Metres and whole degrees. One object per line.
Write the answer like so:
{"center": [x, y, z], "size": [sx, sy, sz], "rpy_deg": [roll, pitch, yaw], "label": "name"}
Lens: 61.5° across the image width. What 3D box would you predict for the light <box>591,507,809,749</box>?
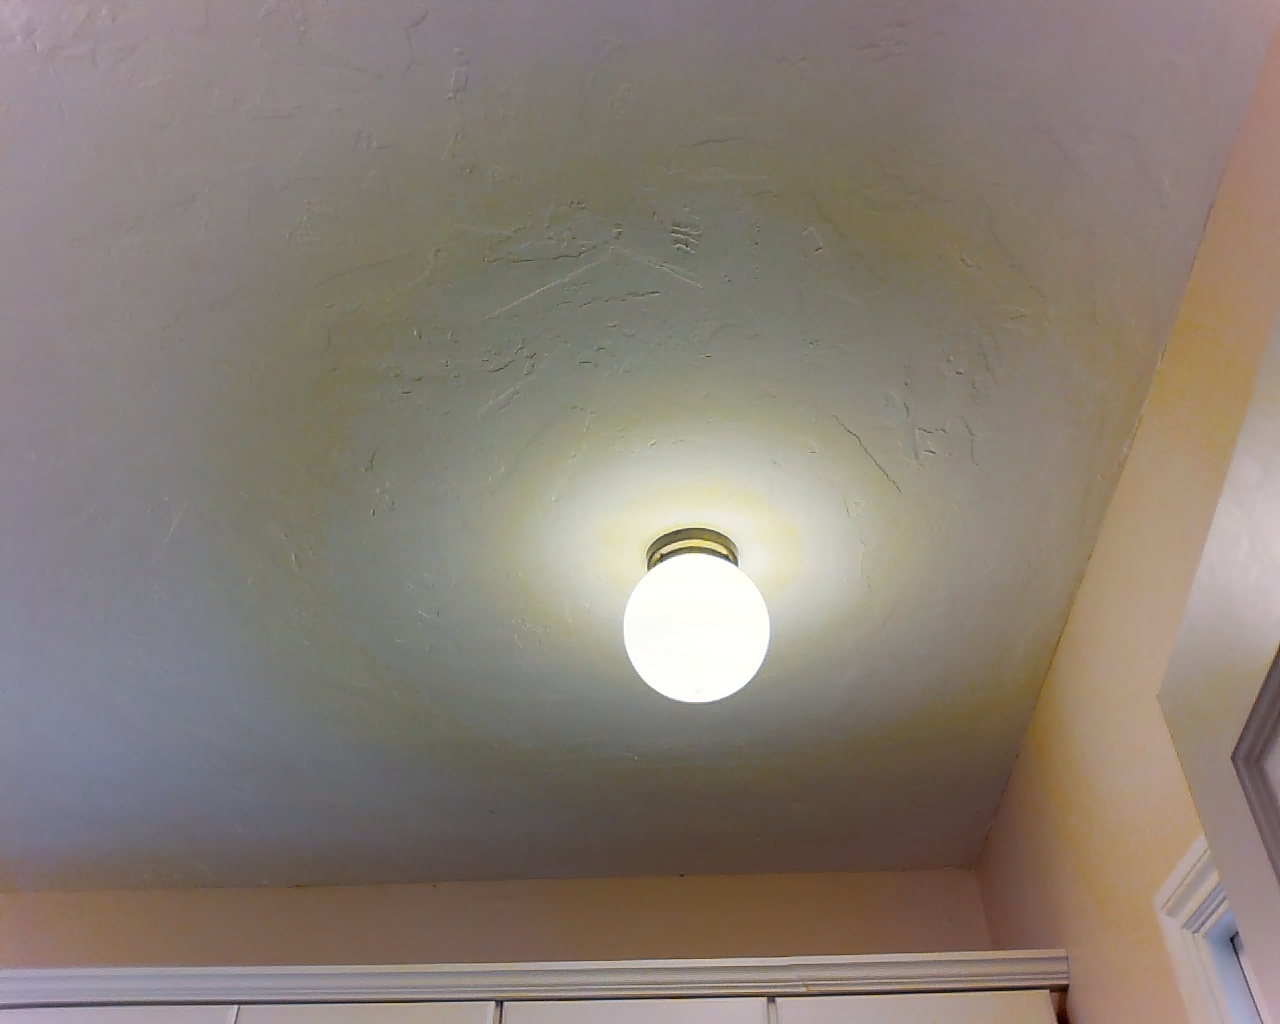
{"center": [0.080, 0.160, 1.450], "size": [0.220, 0.210, 0.180], "rpy_deg": [-21, -46, 23], "label": "light"}
